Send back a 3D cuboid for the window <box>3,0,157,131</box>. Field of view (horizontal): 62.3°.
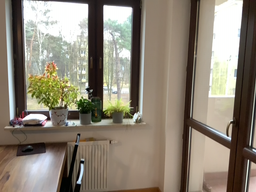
[{"bbox_3d":[-0.510,-0.400,2.480,1.610,1.560,0.240,1,8,-9],"label":"window"}]
